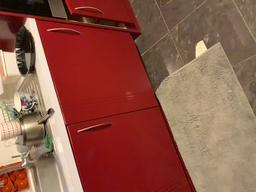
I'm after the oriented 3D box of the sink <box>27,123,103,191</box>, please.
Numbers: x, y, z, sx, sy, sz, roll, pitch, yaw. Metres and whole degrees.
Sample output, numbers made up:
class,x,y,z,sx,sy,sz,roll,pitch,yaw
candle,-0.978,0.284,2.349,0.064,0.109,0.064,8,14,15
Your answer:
class,x,y,z,sx,sy,sz,roll,pitch,yaw
sink,-0.360,0.500,1.210,0.420,0.190,0.560,-35,71,44
